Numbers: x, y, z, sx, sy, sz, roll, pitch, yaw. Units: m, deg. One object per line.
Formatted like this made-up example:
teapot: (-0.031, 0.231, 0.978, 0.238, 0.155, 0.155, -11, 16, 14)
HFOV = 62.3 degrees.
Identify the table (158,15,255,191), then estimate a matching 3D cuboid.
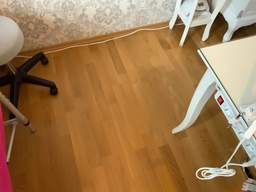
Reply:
table: (0.870, 0.070, 1.030, 1.180, 0.740, 0.640, -14, 62, -11)

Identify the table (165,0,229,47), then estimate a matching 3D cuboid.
table: (0.510, -0.740, 1.460, 0.280, 0.790, 0.270, -15, 62, -11)

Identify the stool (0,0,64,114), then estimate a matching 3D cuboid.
stool: (-0.730, -0.270, 1.280, 0.490, 0.500, 0.530, -14, 62, -11)
